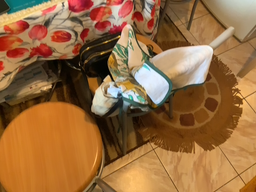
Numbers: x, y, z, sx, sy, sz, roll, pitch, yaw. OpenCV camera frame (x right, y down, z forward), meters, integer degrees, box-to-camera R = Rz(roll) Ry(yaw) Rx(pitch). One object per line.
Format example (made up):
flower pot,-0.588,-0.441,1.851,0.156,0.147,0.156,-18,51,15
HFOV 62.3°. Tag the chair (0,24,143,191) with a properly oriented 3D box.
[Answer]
chair,-0.280,0.240,0.800,0.390,0.790,0.470,-25,70,-15
